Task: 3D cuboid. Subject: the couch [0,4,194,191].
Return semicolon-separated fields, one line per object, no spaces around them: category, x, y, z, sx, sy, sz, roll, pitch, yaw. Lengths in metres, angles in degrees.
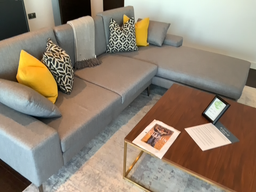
couch;-0.300;-0.260;2.160;0.910;0.820;2.750;21;37;26

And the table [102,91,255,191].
table;0.490;0.490;1.460;0.940;0.410;0.940;21;37;25

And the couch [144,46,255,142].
couch;0.860;-0.130;2.420;0.900;0.410;1.080;21;37;26
